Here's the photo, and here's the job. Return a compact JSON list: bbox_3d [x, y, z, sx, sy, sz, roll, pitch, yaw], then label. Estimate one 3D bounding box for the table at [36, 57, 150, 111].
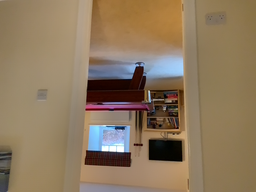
[{"bbox_3d":[-0.580,-0.160,4.250,1.980,0.790,1.060,-1,168,10],"label":"table"}]
